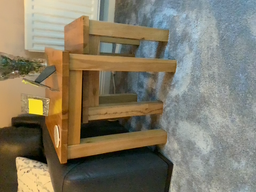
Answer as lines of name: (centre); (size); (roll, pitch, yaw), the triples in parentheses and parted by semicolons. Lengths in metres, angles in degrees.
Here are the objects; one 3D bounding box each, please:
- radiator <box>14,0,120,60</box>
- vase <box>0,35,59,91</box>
radiator: (-0.410, -0.780, 1.520); (0.150, 0.720, 0.980); (25, 113, 58)
vase: (-0.680, -0.200, 1.190); (0.400, 0.480, 0.260); (27, 115, 57)
